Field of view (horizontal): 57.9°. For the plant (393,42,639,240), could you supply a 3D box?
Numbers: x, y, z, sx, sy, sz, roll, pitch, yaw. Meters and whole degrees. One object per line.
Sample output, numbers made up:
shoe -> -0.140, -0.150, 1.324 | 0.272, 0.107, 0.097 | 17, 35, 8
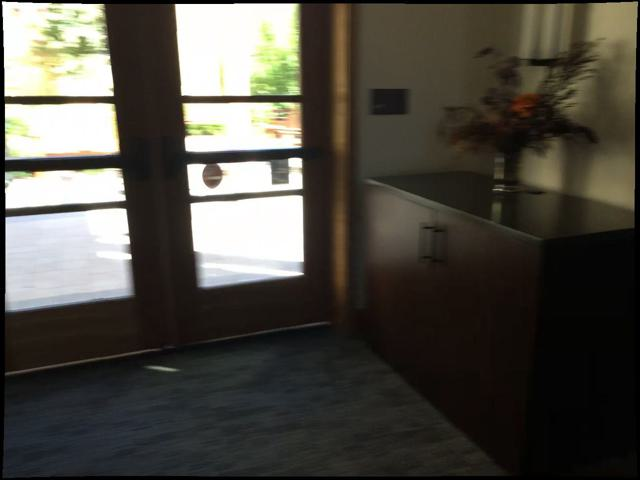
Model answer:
plant -> 0.789, -0.460, 2.350 | 0.689, 0.651, 0.740 | -7, 20, -19
